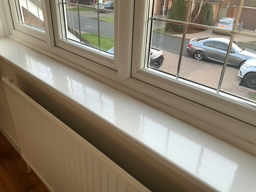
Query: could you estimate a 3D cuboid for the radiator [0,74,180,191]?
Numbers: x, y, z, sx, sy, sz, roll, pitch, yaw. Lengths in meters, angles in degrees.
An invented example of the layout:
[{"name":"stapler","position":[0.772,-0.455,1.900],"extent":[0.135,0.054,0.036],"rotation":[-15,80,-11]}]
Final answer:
[{"name":"radiator","position":[-0.230,0.420,0.950],"extent":[1.350,0.680,0.090],"rotation":[25,36,35]}]
